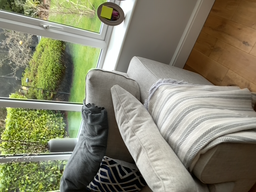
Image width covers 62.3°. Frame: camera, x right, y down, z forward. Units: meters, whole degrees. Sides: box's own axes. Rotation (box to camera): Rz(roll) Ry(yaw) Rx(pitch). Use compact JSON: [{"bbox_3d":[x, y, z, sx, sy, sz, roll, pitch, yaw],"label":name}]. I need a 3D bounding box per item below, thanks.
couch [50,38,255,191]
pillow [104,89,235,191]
[{"bbox_3d":[-0.030,0.870,1.760,1.140,0.900,2.230,54,131,50],"label":"couch"},{"bbox_3d":[0.160,0.270,1.200,0.680,0.350,0.290,54,132,50],"label":"pillow"}]
